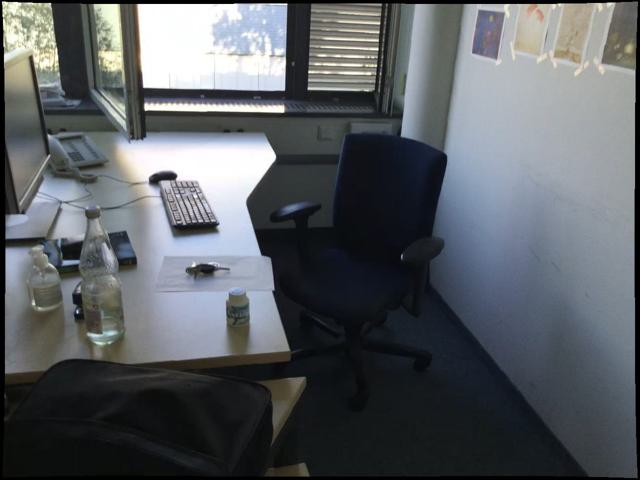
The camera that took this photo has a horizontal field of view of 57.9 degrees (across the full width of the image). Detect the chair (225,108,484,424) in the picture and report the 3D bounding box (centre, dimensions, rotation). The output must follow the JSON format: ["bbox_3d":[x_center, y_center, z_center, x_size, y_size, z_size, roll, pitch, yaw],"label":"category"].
[{"bbox_3d":[0.120,0.040,2.310,0.710,0.921,0.650,19,30,31],"label":"chair"}]
